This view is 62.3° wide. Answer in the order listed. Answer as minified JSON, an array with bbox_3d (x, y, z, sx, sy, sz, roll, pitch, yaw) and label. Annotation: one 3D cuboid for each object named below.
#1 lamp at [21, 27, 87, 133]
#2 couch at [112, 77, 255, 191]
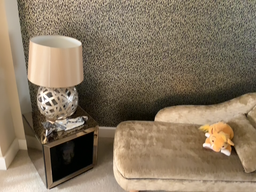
[{"bbox_3d":[-0.530,-0.140,1.600,0.370,0.620,0.500,-3,29,-17],"label":"lamp"},{"bbox_3d":[0.700,0.370,1.920,1.640,0.710,0.800,4,28,-7],"label":"couch"}]
